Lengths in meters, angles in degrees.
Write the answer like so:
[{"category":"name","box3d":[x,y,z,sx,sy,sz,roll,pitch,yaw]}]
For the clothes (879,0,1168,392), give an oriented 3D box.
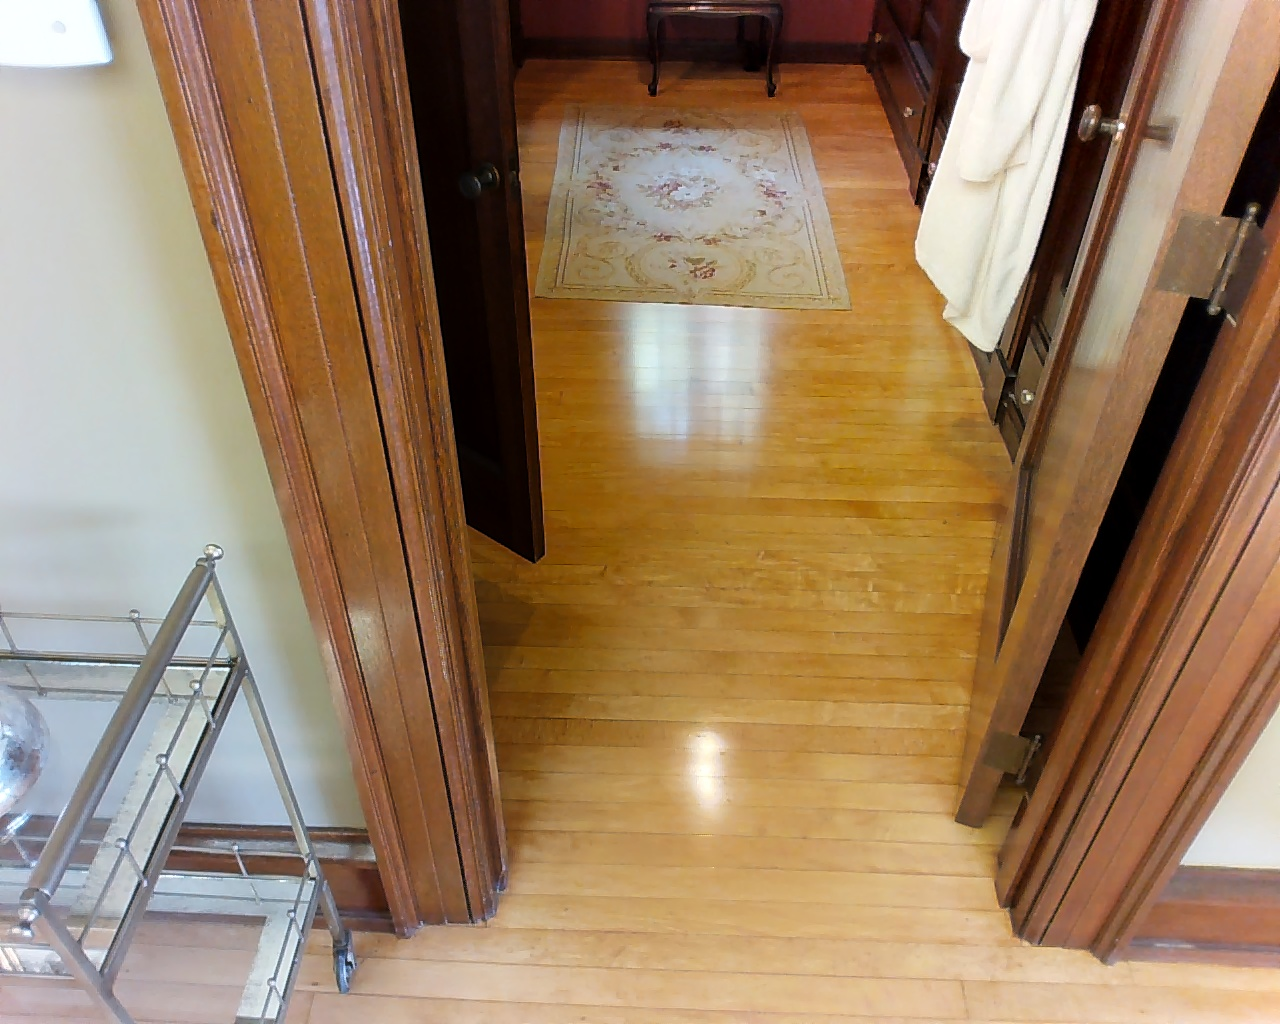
[{"category":"clothes","box3d":[0.780,-1.030,2.080,0.340,1.650,0.390,2,41,2]}]
